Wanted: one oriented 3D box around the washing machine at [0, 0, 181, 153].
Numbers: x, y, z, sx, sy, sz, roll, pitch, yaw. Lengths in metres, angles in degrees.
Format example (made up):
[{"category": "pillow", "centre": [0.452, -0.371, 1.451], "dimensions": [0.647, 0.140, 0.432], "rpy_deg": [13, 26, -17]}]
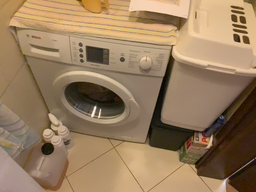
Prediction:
[{"category": "washing machine", "centre": [-0.120, -0.140, 1.200], "dimensions": [0.610, 0.840, 0.510], "rpy_deg": [11, 53, 4]}]
